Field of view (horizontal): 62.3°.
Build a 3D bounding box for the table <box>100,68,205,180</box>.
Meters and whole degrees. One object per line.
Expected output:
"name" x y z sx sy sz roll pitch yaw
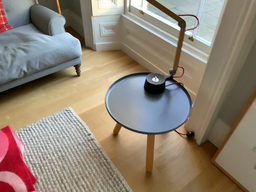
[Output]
"table" 0.130 0.160 1.370 0.430 0.390 0.440 -26 50 -27
